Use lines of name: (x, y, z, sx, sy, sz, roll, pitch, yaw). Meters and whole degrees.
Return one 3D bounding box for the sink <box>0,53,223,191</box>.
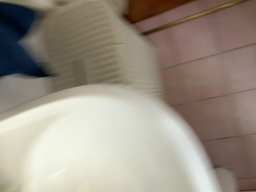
sink: (-0.050, 0.260, 0.410, 0.460, 0.200, 0.540, -14, 88, 20)
